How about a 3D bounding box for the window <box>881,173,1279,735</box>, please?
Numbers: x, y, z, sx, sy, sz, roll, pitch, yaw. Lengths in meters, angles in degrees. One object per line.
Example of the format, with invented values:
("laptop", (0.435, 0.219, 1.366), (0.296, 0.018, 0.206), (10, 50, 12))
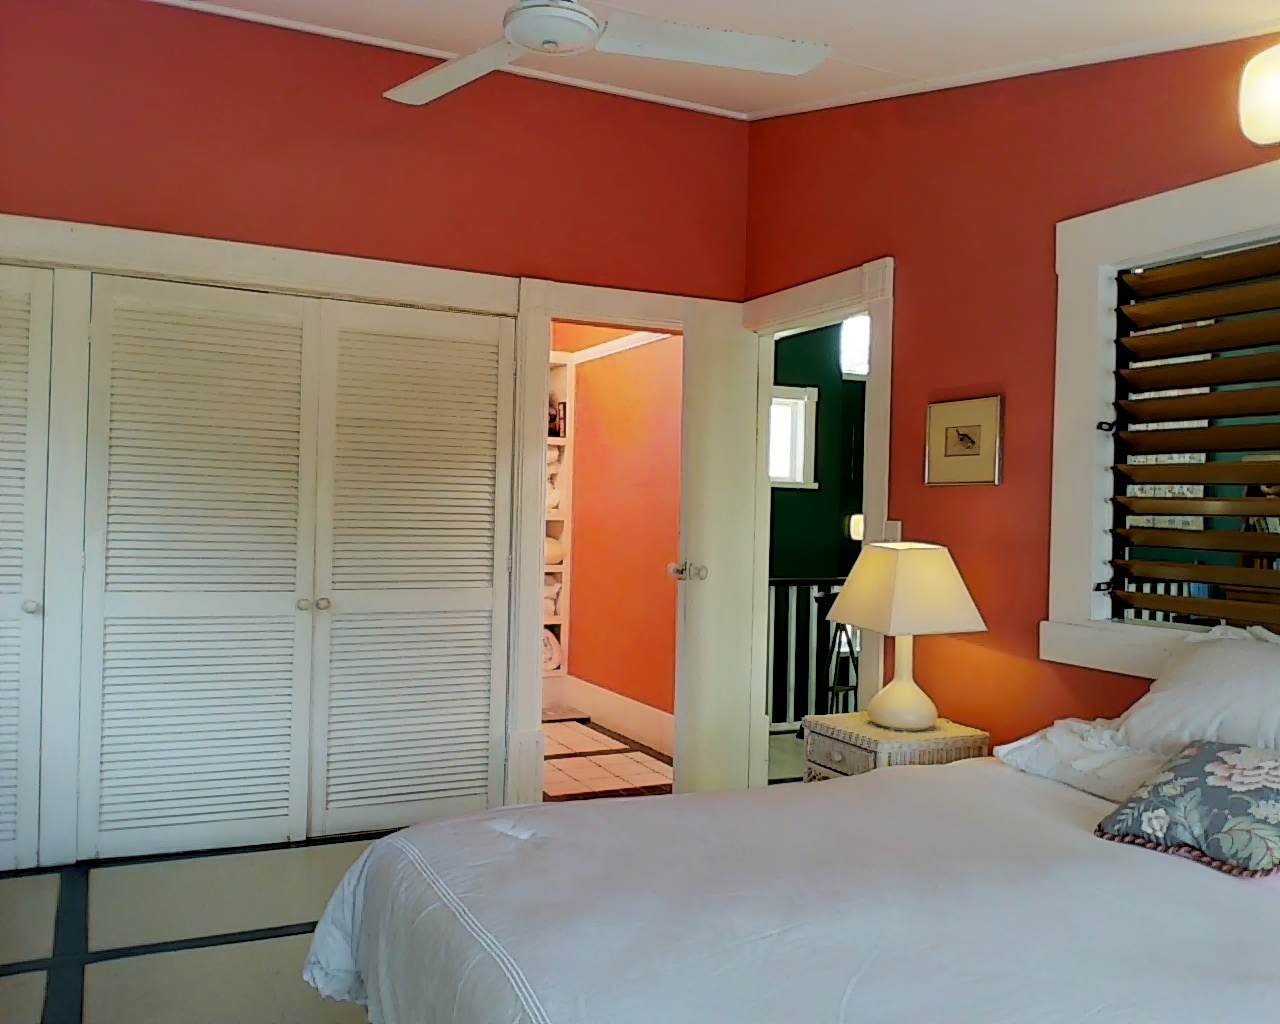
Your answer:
("window", (1.579, -0.140, 2.560), (0.100, 1.340, 2.960), (1, -1, -26))
